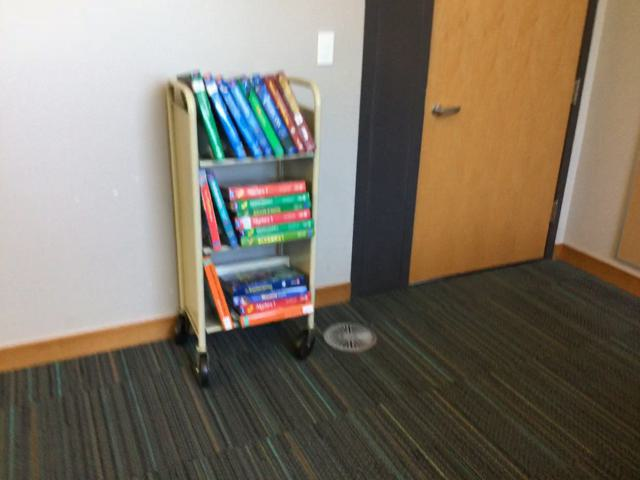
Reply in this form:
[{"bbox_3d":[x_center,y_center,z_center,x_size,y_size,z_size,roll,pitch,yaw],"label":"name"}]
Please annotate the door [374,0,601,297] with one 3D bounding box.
[{"bbox_3d":[0.800,-0.590,2.770,1.010,1.640,0.200,-7,21,-24],"label":"door"}]
